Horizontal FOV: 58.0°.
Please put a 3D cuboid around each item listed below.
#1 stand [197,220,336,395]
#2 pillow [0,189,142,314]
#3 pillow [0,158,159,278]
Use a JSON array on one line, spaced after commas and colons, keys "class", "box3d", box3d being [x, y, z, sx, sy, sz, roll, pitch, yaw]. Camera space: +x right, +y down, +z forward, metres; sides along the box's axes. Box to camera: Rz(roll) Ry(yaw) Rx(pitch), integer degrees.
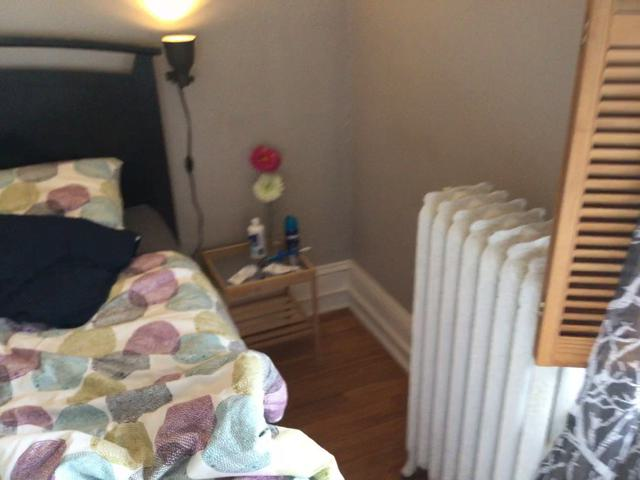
[{"class": "stand", "box3d": [-0.220, 0.250, 2.350, 0.420, 0.480, 0.440, -10, 26, -21]}, {"class": "pillow", "box3d": [-0.840, 0.020, 1.510, 0.640, 0.160, 0.410, -2, 24, -5]}, {"class": "pillow", "box3d": [-0.870, -0.070, 1.740, 0.660, 0.170, 0.420, -11, 27, -23]}]
